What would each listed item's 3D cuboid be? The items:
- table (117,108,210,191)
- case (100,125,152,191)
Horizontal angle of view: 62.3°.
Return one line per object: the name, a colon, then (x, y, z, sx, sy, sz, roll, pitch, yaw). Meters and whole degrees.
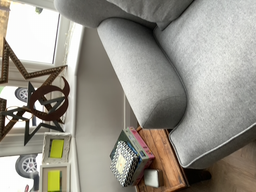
table: (0.190, 0.400, 1.400, 0.460, 0.230, 0.460, -50, 49, 41)
case: (-0.030, 0.390, 1.390, 0.300, 0.140, 0.270, 44, 122, 48)
